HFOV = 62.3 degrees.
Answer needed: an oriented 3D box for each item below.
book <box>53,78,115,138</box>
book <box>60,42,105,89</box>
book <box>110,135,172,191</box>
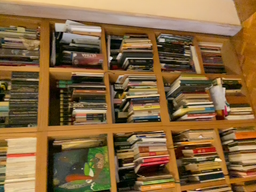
[{"bbox_3d":[-0.310,0.090,1.450,0.260,0.370,0.330,128,139,-63],"label":"book"},{"bbox_3d":[-0.350,-0.220,1.590,0.200,0.300,0.280,125,141,-61],"label":"book"},{"bbox_3d":[0.070,0.490,1.510,0.310,0.310,0.350,128,139,-63],"label":"book"}]
